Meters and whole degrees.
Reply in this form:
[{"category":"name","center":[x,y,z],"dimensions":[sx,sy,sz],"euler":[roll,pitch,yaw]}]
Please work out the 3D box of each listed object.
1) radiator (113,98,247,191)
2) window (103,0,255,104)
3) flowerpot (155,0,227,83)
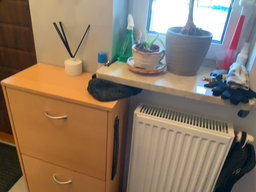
[{"category":"radiator","center":[0.190,0.400,1.070],"dimensions":[0.510,0.720,0.120],"euler":[12,30,12]},{"category":"window","center":[0.250,-0.510,0.750],"dimensions":[0.620,0.980,0.200],"euler":[13,30,14]},{"category":"flowerpot","center":[0.260,-0.360,0.820],"dimensions":[0.200,0.560,0.200],"euler":[13,30,14]}]
